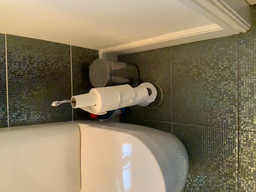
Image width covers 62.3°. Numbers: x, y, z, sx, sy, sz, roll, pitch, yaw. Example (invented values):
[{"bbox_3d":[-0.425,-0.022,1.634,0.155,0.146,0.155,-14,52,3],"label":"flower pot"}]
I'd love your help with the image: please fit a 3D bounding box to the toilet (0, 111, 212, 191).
[{"bbox_3d":[-0.100,0.330,0.950,0.640,0.850,0.400,2,93,41],"label":"toilet"}]
